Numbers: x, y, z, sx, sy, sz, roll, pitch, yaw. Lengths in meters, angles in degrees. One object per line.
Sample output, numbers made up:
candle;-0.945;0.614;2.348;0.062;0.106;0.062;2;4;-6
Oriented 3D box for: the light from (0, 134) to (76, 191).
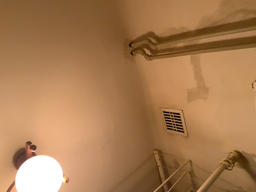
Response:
light;-0.360;0.290;0.830;0.270;0.190;0.170;-9;-172;-18
